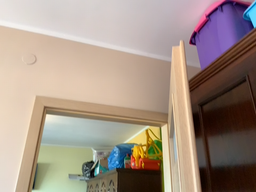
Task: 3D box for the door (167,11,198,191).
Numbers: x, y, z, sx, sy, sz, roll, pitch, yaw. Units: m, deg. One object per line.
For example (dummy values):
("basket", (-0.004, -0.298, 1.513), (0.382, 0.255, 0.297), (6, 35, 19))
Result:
("door", (0.190, 0.880, 0.610), (0.020, 2.110, 0.880), (-2, -25, 8))
